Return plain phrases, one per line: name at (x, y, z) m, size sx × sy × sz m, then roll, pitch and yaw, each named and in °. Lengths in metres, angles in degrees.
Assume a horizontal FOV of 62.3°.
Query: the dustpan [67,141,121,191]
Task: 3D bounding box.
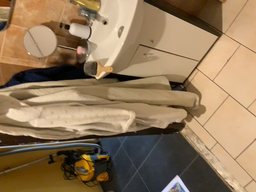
dustpan at (-0.400, 0.800, 2.460) m, size 0.370 × 0.400 × 0.380 m, roll -55°, pitch 49°, yaw 30°
